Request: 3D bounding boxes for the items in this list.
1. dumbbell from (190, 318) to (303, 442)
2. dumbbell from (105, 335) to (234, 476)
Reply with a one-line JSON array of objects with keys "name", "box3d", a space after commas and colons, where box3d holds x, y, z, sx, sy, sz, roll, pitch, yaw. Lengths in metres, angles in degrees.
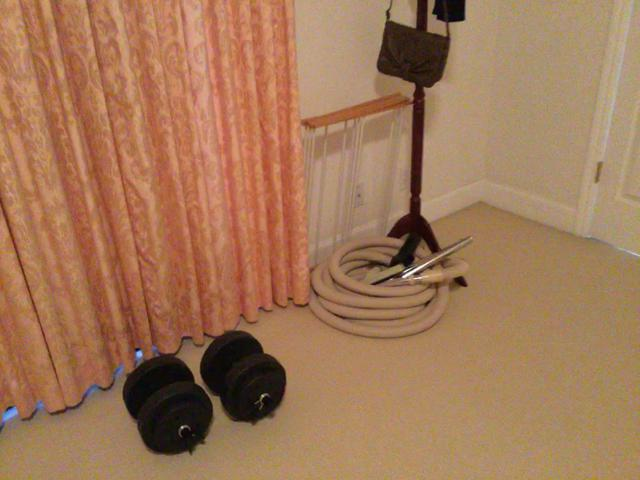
[{"name": "dumbbell", "box3d": [-0.230, 0.430, 1.820, 0.220, 0.210, 0.270, -23, 32, -37]}, {"name": "dumbbell", "box3d": [-0.450, 0.480, 1.730, 0.230, 0.210, 0.300, -23, 32, -37]}]
